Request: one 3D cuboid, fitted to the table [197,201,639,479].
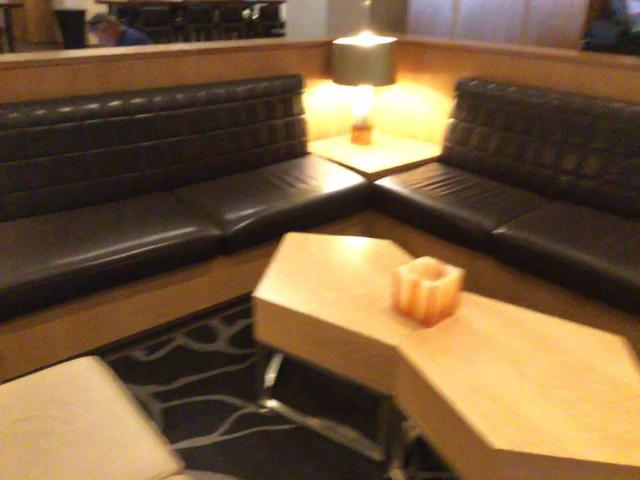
[{"bbox_3d":[0.360,0.390,1.870,0.830,0.480,1.510,-19,30,-35],"label":"table"}]
